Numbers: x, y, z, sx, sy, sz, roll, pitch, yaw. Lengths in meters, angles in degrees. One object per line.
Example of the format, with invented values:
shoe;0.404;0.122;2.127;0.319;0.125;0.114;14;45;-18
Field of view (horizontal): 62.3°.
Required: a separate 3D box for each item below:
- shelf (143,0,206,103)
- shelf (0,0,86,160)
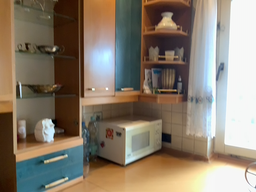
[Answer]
shelf;0.390;-0.520;1.740;0.310;1.100;0.440;5;6;40
shelf;-0.490;-0.380;1.200;0.320;1.330;0.380;5;6;40
